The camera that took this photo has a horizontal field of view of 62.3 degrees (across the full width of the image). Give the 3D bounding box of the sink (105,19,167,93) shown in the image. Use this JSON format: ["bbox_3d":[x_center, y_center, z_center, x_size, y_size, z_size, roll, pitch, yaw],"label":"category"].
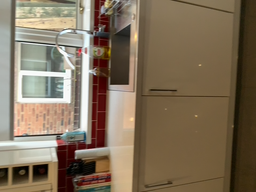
[{"bbox_3d":[0.030,-0.260,1.580,0.540,0.230,0.440,-170,82,-66],"label":"sink"}]
